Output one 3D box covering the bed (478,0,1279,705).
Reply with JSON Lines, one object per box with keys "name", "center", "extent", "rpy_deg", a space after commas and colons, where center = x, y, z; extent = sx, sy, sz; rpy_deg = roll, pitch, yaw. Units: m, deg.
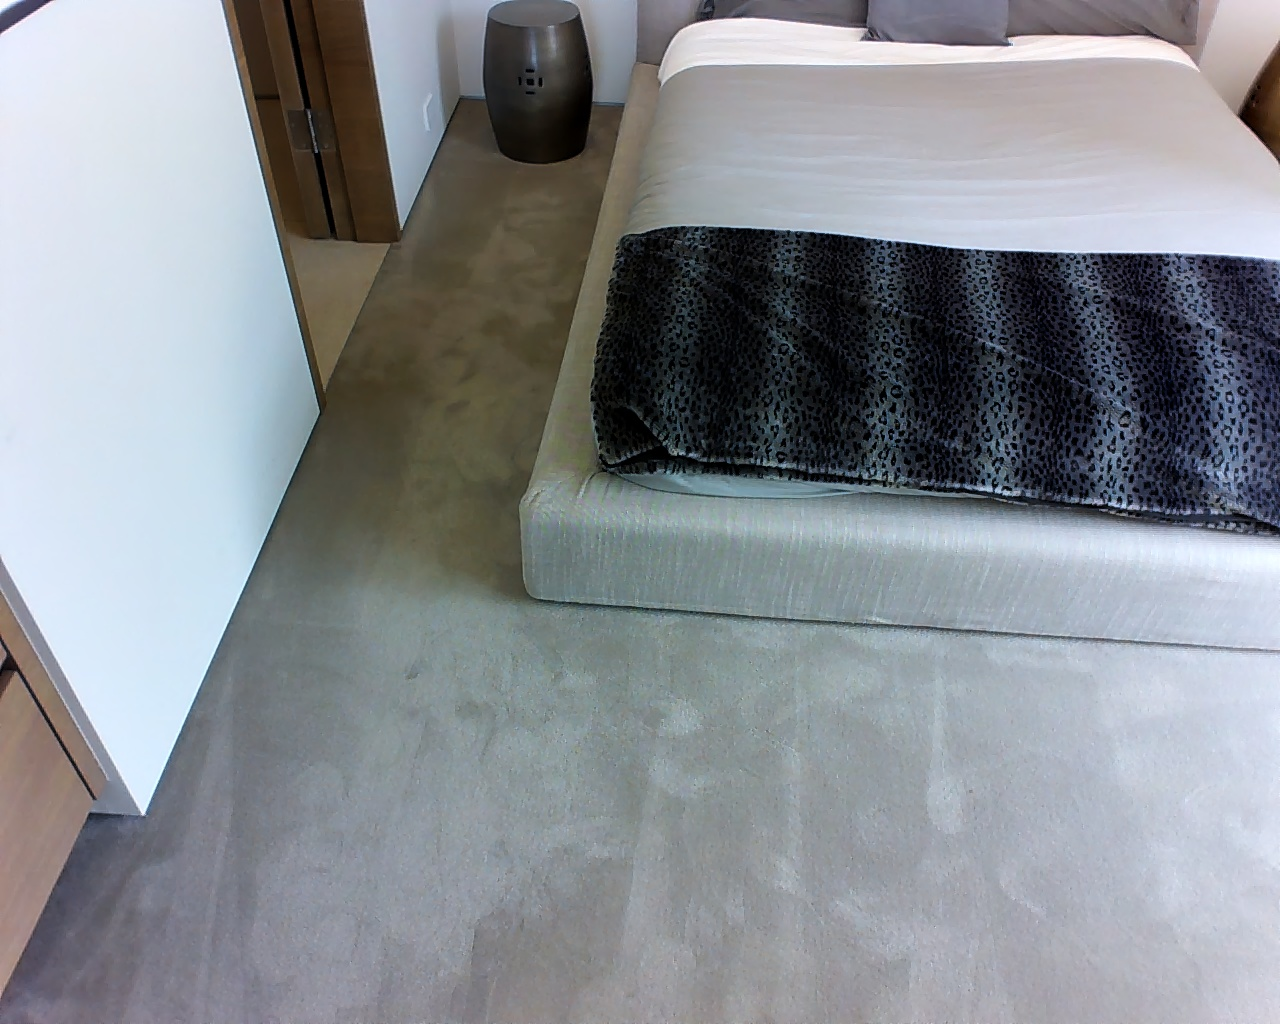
{"name": "bed", "center": [0.800, -0.780, 2.730], "extent": [1.920, 0.640, 2.540], "rpy_deg": [3, 45, 3]}
